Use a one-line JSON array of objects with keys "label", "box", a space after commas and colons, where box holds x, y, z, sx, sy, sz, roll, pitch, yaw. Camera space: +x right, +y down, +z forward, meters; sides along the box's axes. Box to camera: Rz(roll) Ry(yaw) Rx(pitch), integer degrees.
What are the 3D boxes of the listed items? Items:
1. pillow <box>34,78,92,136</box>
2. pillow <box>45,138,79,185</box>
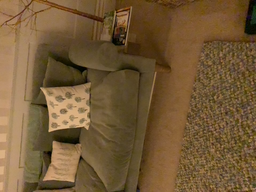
[{"label": "pillow", "box": [-0.560, 0.090, 1.890, 0.140, 0.440, 0.470, -134, 42, -74]}, {"label": "pillow", "box": [-0.620, 0.600, 1.980, 0.130, 0.270, 0.390, -164, 78, -69]}]
